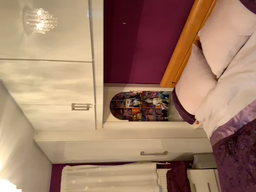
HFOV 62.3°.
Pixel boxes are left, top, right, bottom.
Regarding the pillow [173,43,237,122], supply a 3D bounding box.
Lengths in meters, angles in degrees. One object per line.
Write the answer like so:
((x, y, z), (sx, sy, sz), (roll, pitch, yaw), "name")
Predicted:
((0.590, -0.090, 1.760), (0.520, 0.230, 0.420), (101, 167, -57), "pillow")

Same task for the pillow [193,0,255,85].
((0.650, -0.400, 1.270), (0.570, 0.240, 0.420), (102, 167, -58), "pillow")
